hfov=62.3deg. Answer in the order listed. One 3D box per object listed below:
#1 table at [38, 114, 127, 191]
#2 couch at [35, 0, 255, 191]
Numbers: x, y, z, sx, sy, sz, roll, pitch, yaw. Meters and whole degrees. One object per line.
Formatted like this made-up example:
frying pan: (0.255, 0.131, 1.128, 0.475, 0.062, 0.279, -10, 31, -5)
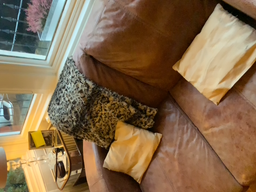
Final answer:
table: (-0.430, 0.490, 1.980, 0.490, 0.590, 0.360, 55, 126, 31)
couch: (0.240, 0.050, 1.150, 1.600, 0.780, 1.040, -54, 54, 32)
